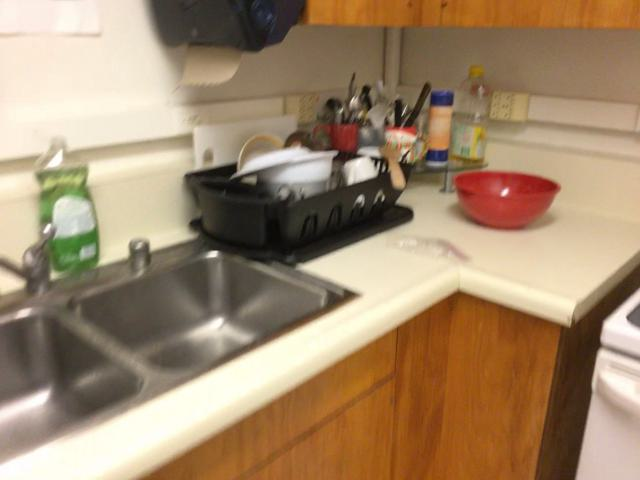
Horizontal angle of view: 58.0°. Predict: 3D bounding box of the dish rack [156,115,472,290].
[{"bbox_3d":[0.000,-0.140,1.400,0.460,0.230,0.600,18,25,39],"label":"dish rack"}]
